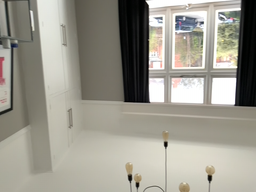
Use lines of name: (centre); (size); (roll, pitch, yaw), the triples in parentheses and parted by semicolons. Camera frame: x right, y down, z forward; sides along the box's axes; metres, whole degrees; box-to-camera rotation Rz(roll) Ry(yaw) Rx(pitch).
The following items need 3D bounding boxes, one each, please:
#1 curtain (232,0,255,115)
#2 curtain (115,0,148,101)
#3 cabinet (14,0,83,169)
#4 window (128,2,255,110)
curtain: (1.940, -0.960, 3.250); (0.440, 2.510, 0.210); (1, -170, 12)
curtain: (0.070, -1.040, 3.770); (0.520, 2.270, 0.140); (1, -170, 12)
cabinet: (-1.160, -0.670, 3.390); (0.260, 3.070, 1.620); (-1, -170, 3)
window: (1.090, -0.650, 3.800); (2.160, 1.770, 0.110); (1, -170, 12)
